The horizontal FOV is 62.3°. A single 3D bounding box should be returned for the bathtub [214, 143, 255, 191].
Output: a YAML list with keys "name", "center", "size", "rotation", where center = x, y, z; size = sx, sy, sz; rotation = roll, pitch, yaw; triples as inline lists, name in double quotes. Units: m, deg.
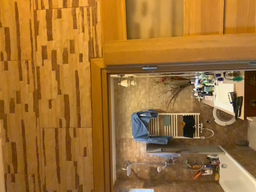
- name: "bathtub"
  center: [1.900, 1.330, 3.410]
  size: [1.680, 0.530, 0.710]
  rotation: [-20, -71, -83]
